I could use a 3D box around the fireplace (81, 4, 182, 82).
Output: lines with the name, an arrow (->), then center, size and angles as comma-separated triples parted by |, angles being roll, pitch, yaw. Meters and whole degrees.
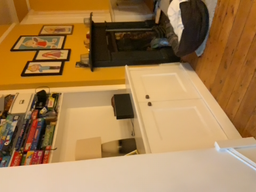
fireplace -> -0.060, -0.930, 3.320 | 1.650, 1.200, 0.550 | -103, 11, -52
